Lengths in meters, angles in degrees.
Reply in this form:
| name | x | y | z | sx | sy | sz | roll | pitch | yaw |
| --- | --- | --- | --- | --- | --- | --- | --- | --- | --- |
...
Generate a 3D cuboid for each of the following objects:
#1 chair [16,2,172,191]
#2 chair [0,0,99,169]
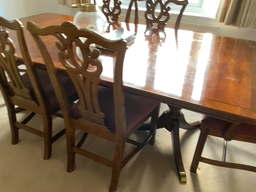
| name | x | y | z | sx | sy | sz | roll | pitch | yaw |
| --- | --- | --- | --- | --- | --- | --- | --- | --- | --- |
| chair | -0.130 | 0.010 | 1.300 | 0.520 | 0.980 | 0.590 | 16 | 34 | 21 |
| chair | -0.610 | -0.130 | 1.500 | 0.530 | 0.990 | 0.590 | 16 | 34 | 21 |
